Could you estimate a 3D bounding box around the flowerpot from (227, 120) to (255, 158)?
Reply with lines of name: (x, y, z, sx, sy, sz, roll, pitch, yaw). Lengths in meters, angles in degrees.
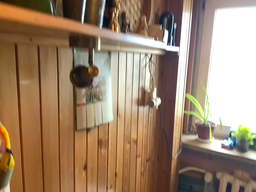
flowerpot: (0.850, 0.300, 1.530, 0.180, 0.170, 0.260, 9, 12, 34)

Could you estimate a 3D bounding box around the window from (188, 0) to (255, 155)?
window: (0.920, -0.190, 1.550, 0.820, 1.230, 0.110, 9, 12, 32)
